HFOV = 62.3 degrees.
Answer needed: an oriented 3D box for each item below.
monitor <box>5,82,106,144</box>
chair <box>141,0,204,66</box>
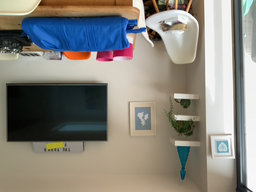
[{"bbox_3d":[-0.880,0.210,2.600,1.220,0.740,0.040,0,-178,-1],"label":"monitor"},{"bbox_3d":[0.460,-0.770,2.210,0.490,0.800,0.430,1,178,-42],"label":"chair"}]
